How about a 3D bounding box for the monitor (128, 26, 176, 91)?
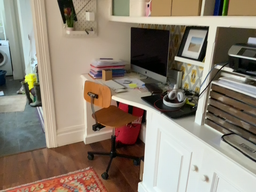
[{"bbox_3d":[0.190,-0.390,2.040,0.060,0.500,0.670,-8,22,-26],"label":"monitor"}]
